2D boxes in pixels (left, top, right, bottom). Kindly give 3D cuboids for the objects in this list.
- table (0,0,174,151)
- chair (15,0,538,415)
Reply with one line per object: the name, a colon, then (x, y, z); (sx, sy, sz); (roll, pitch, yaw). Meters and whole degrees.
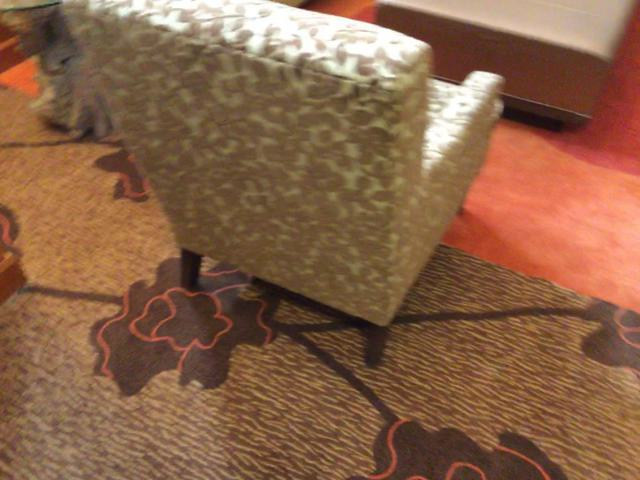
table: (-0.960, -0.780, 2.190); (0.510, 0.600, 0.460); (23, 51, 21)
chair: (0.000, -0.310, 1.520); (0.770, 0.930, 0.920); (23, 51, 21)
